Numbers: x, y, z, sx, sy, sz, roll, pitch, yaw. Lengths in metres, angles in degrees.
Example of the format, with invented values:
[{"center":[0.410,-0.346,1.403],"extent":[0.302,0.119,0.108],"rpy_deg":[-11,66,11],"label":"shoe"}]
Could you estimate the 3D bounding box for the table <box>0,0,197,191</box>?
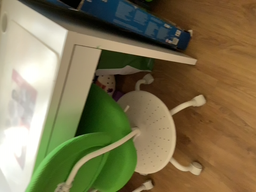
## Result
[{"center":[-0.380,0.300,1.220],"extent":[0.680,0.760,1.450],"rpy_deg":[36,115,35],"label":"table"}]
